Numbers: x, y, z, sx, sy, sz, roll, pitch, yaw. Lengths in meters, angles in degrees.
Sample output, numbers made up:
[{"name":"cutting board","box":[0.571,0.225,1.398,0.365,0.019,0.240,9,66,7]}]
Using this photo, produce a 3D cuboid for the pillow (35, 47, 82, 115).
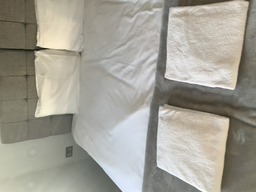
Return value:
[{"name":"pillow","box":[-0.700,-0.130,2.120,0.140,0.410,0.640,-133,48,-61]}]

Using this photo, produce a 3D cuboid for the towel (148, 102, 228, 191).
[{"name":"towel","box":[0.260,0.250,1.040,0.410,0.050,0.370,15,107,53]}]

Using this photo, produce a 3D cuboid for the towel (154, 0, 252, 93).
[{"name":"towel","box":[0.290,-0.230,0.940,0.420,0.040,0.350,21,111,52]}]

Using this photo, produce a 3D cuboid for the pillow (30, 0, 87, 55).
[{"name":"pillow","box":[-0.610,-0.740,1.890,0.120,0.460,0.680,-119,36,-68]}]
